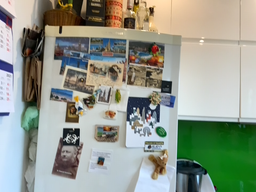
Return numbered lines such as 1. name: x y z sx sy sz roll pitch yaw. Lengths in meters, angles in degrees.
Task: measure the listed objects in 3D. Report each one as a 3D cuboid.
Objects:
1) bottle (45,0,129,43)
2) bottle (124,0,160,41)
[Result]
1. bottle: -0.190 -0.500 1.090 0.380 0.380 0.190 3 -4 -3
2. bottle: 0.070 -0.400 1.120 0.170 0.170 0.140 3 -4 -2
